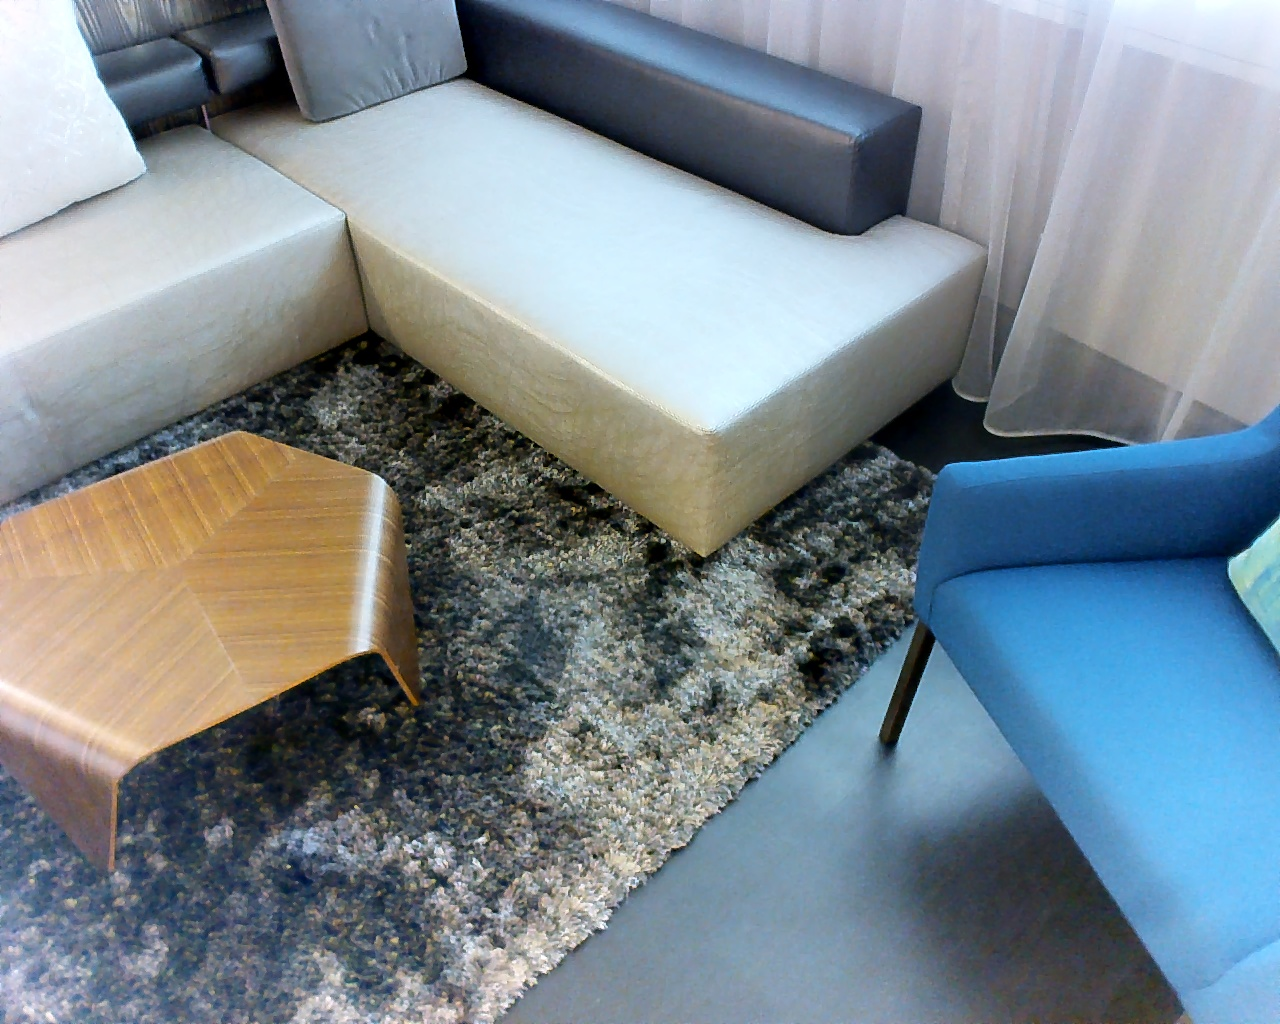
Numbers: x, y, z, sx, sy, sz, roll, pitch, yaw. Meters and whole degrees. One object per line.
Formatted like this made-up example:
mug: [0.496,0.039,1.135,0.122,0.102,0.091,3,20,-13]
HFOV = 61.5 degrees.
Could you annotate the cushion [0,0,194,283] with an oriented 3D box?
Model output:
cushion: [-1.400,-0.860,2.370,0.530,0.470,0.430,-34,52,-31]

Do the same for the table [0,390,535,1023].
table: [-0.700,0.260,1.740,0.780,0.380,0.690,-27,49,-26]
